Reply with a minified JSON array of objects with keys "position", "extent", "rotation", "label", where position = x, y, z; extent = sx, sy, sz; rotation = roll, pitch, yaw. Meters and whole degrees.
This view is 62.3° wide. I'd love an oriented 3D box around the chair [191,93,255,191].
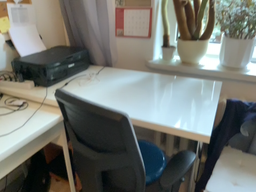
[{"position":[0.640,0.480,1.170],"extent":[0.420,0.790,0.530],"rotation":[16,29,31],"label":"chair"}]
